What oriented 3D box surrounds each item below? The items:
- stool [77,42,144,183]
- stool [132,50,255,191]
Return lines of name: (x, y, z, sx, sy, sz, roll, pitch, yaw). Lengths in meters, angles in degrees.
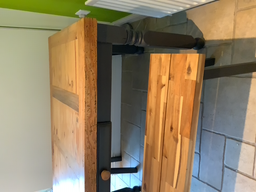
stool: (-0.180, 0.120, 1.940, 0.390, 0.460, 1.130, 15, 106, 58)
stool: (0.330, 0.350, 1.100, 0.360, 0.470, 1.120, 21, 111, 57)
